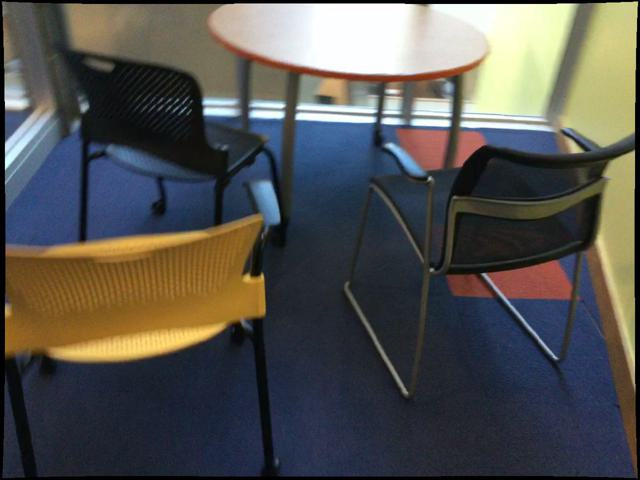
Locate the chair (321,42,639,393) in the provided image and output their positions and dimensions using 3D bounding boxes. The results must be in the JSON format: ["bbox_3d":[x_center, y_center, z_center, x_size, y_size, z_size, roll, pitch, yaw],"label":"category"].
[{"bbox_3d":[0.430,-0.100,1.630,0.649,0.690,0.620,-7,38,-17],"label":"chair"}]

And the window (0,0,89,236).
[{"bbox_3d":[-1.199,-0.711,2.030,0.200,1.121,1.310,2,36,-4],"label":"window"}]
